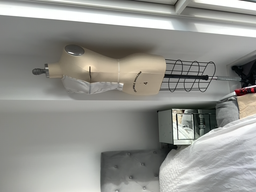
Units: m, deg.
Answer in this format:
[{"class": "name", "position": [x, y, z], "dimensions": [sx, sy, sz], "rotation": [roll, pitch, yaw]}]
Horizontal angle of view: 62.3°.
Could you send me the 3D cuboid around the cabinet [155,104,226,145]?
[{"class": "cabinet", "position": [0.610, 0.300, 2.160], "dimensions": [0.420, 0.530, 0.360], "rotation": [141, 129, -72]}]
